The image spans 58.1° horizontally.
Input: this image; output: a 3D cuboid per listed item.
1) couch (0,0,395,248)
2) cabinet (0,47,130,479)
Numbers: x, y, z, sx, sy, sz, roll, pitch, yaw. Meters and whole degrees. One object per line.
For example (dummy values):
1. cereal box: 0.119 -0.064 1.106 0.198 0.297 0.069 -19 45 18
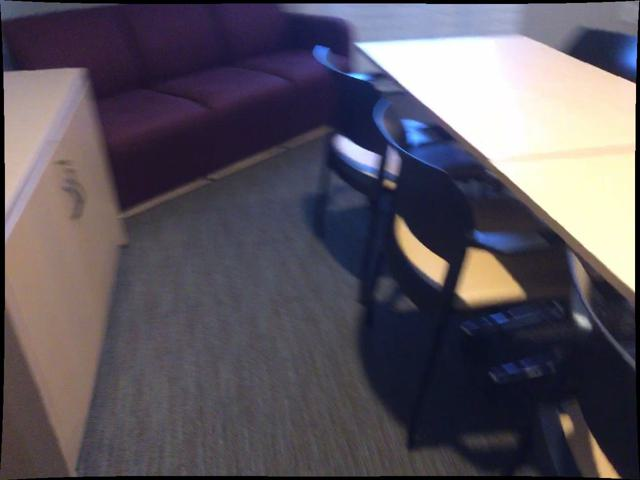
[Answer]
1. couch: -0.509 -0.791 2.970 0.770 0.791 1.839 27 41 37
2. cabinet: -0.978 0.000 1.730 0.569 0.791 1.370 -6 32 -10
